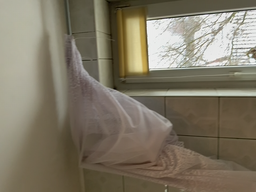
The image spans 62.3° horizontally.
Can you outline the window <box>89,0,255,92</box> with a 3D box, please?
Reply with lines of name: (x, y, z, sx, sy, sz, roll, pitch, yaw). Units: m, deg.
window: (0.540, -0.330, 1.050, 0.230, 1.470, 0.580, -33, -59, -70)
